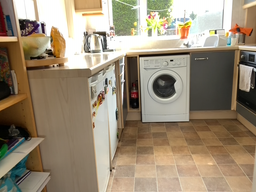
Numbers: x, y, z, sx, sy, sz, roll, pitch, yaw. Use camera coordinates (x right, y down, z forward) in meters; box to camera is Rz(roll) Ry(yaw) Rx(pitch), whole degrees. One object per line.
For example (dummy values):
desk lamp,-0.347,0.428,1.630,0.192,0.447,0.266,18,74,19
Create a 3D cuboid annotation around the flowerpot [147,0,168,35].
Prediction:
flowerpot,0.420,-1.100,3.010,0.280,0.420,0.270,-1,15,7
